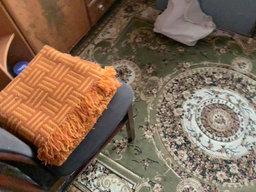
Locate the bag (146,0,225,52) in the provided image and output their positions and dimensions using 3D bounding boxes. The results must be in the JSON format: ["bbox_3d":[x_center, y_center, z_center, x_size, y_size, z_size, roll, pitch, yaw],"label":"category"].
[{"bbox_3d":[0.400,-0.570,1.520,0.450,0.240,0.320,19,64,13],"label":"bag"}]

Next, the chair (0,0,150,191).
[{"bbox_3d":[-0.280,0.030,0.760,0.470,1.020,0.570,27,66,17],"label":"chair"}]
